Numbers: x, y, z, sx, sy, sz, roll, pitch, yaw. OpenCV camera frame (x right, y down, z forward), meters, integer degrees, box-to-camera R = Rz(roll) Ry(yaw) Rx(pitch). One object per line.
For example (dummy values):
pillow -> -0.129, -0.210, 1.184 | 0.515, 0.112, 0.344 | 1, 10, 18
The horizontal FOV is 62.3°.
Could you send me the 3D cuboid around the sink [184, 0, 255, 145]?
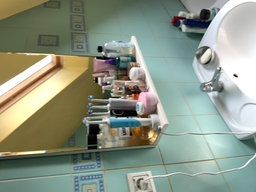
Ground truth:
sink -> 0.520, -0.170, 0.890 | 0.450, 0.210, 0.570 | 106, 157, -44
